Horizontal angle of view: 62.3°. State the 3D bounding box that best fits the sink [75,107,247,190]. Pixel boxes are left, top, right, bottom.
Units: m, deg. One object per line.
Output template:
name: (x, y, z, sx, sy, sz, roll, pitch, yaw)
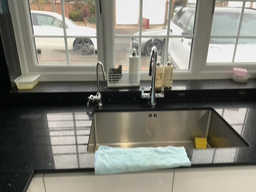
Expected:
sink: (0.140, 0.250, 1.120, 0.750, 0.240, 0.350, -1, 22, -4)
